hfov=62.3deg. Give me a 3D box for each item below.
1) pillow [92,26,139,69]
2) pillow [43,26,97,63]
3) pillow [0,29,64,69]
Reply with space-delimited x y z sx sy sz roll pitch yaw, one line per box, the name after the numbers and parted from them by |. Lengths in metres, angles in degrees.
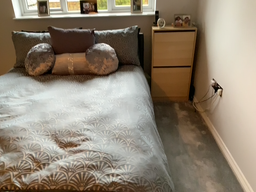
-0.130 -0.530 2.320 0.470 0.420 0.260 -1 22 -3 | pillow
-0.570 -0.530 2.170 0.470 0.330 0.180 -2 25 -3 | pillow
-1.010 -0.510 2.280 0.530 0.400 0.250 0 18 0 | pillow
